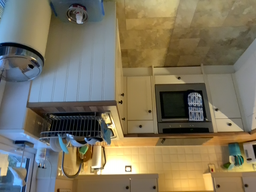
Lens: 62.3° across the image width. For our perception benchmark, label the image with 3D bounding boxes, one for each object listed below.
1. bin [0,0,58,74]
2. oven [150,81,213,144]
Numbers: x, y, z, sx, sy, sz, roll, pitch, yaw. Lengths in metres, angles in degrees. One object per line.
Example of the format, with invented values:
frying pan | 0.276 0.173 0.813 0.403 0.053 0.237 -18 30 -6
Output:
bin | -0.710 -0.520 1.430 0.300 0.650 0.350 -1 158 0
oven | 0.610 0.230 2.660 0.600 0.630 0.580 -2 158 1
